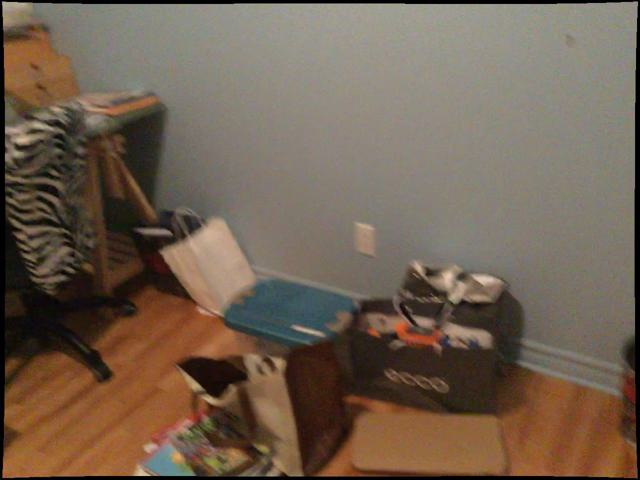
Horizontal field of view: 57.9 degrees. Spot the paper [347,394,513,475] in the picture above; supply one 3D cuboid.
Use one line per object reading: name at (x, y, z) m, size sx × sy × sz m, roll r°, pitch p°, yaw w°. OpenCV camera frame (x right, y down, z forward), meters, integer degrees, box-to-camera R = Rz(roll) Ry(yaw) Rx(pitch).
paper at (0.300, 0.541, 1.630) m, size 0.430 × 0.050 × 0.230 m, roll -1°, pitch 29°, yaw 8°
